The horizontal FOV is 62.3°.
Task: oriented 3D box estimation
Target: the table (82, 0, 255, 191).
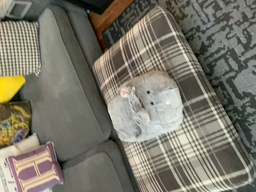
[{"bbox_3d":[0.190,0.060,1.230,0.610,0.310,0.960,-33,72,33],"label":"table"}]
